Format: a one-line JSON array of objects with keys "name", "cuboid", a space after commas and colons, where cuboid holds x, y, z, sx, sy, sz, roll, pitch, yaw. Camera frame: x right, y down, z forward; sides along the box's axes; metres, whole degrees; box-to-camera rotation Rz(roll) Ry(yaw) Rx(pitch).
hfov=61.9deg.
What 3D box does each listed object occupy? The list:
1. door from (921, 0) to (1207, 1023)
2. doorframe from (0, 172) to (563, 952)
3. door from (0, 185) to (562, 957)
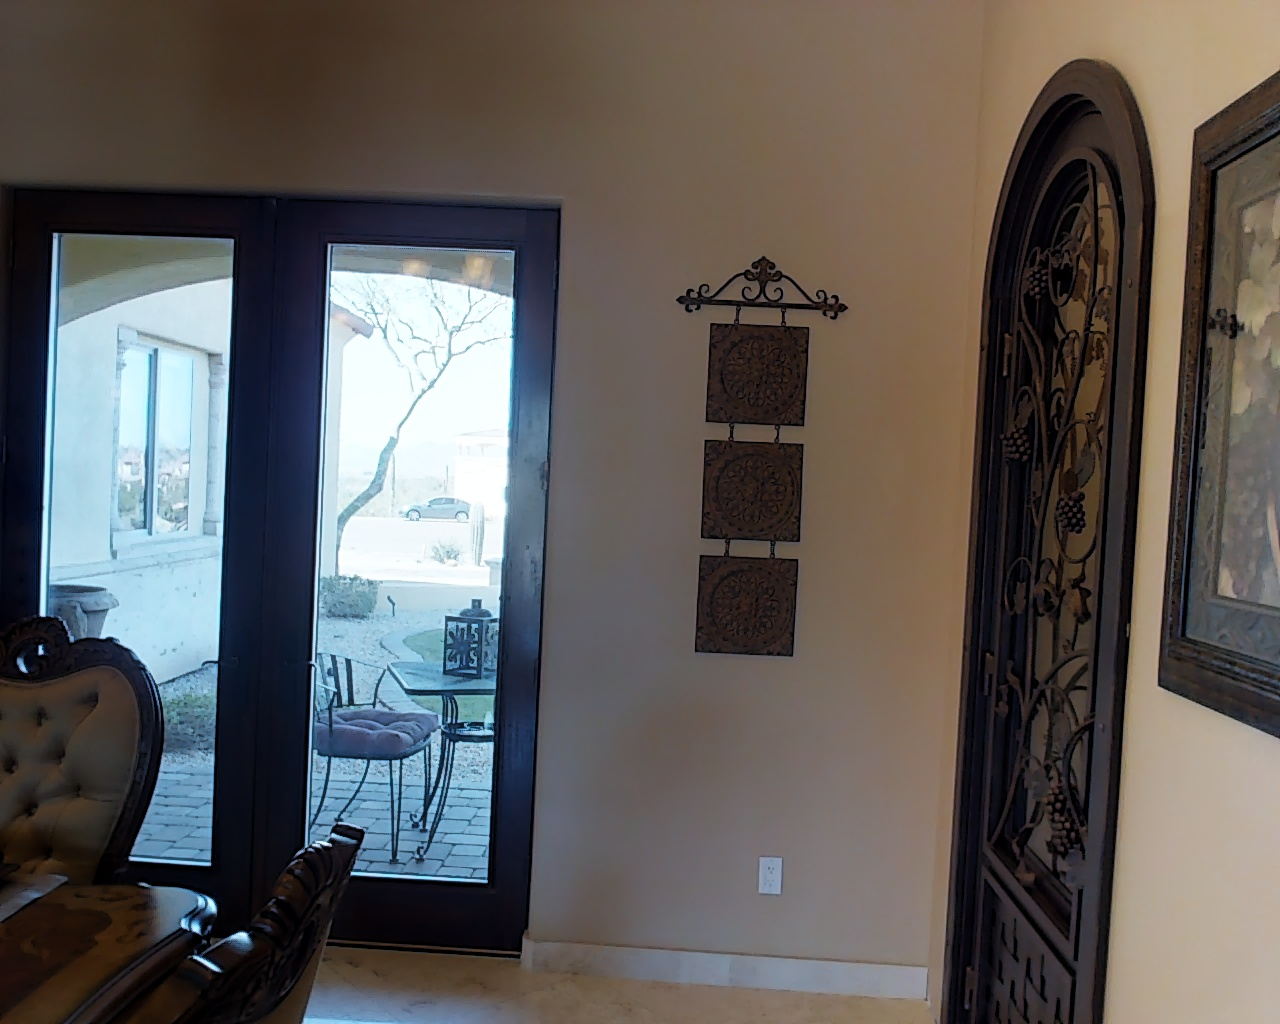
[{"name": "door", "cuboid": [0.900, 0.230, 2.470, 0.080, 2.530, 1.200, 3, 2, 2]}, {"name": "doorframe", "cuboid": [-1.200, 0.160, 3.380, 1.800, 2.350, 0.110, 3, 2, 2]}, {"name": "door", "cuboid": [-1.180, 0.190, 3.410, 1.750, 2.350, 0.110, 3, 2, 2]}]
